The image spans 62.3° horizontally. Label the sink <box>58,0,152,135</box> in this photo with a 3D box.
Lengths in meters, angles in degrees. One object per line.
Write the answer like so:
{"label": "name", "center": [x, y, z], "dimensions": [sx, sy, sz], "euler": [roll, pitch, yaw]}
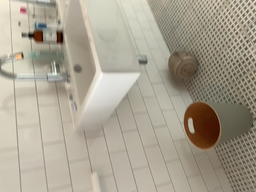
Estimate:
{"label": "sink", "center": [-0.170, -0.190, 0.990], "dimensions": [0.510, 0.170, 0.580], "euler": [-53, 49, 52]}
